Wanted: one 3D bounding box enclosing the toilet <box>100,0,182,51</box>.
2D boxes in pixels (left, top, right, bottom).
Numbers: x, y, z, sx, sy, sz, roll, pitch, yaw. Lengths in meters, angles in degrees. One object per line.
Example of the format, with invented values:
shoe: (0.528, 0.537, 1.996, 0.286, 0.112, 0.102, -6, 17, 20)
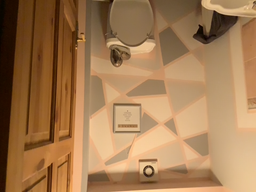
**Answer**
toilet: (0.050, -0.880, 1.700, 0.470, 0.800, 0.690, 2, 172, -11)
